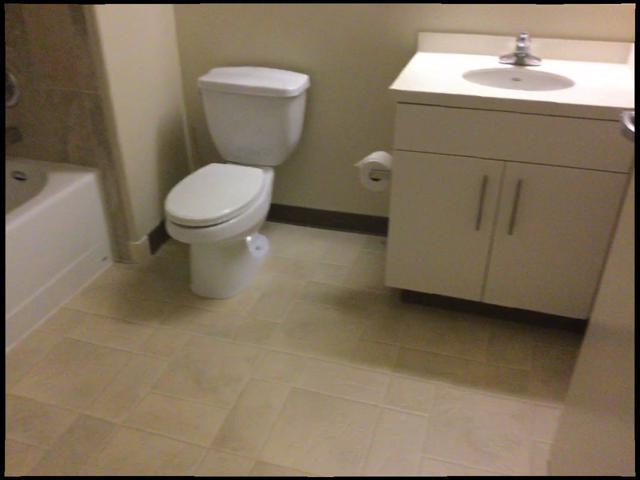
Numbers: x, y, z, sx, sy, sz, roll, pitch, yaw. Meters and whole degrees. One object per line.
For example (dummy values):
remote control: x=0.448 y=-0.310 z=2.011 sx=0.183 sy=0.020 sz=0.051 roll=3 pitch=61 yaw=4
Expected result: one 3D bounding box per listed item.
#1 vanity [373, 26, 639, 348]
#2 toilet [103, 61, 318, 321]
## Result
vanity: x=0.689 y=-0.230 z=2.180 sx=0.819 sy=0.951 sz=0.600 roll=9 pitch=33 yaw=17
toilet: x=-0.379 y=-0.251 z=2.440 sx=0.489 sy=0.771 sz=0.800 roll=9 pitch=33 yaw=17
